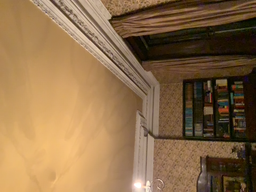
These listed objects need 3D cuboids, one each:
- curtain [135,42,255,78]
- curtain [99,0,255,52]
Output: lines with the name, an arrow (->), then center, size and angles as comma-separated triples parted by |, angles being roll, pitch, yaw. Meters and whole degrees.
curtain -> 1.760, -0.710, 4.230 | 0.410, 3.280, 0.370 | 47, -134, -60
curtain -> 1.210, -1.080, 2.910 | 0.550, 3.290, 0.370 | 44, -132, -61
